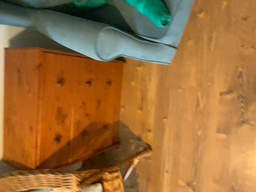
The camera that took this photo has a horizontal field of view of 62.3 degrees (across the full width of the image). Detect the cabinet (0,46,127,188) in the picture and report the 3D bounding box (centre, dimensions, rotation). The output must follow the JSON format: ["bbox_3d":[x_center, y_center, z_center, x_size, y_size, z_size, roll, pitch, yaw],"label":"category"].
[{"bbox_3d":[-0.370,0.070,1.330,0.370,0.710,0.630,6,96,33],"label":"cabinet"}]

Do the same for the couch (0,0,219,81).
[{"bbox_3d":[-0.150,-0.580,0.960,0.870,1.020,0.770,23,105,30],"label":"couch"}]

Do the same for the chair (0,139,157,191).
[{"bbox_3d":[-0.310,0.660,1.240,0.660,0.830,0.620,-10,87,33],"label":"chair"}]
